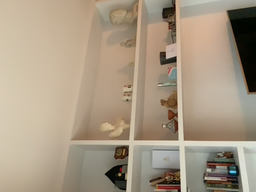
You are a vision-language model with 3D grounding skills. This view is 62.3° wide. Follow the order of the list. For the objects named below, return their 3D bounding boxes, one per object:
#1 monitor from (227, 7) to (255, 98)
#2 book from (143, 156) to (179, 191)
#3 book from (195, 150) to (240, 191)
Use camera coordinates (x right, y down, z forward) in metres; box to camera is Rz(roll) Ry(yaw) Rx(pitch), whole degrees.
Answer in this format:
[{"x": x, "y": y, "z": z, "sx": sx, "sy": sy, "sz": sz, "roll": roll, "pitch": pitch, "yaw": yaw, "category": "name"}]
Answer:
[{"x": 1.260, "y": -0.440, "z": 1.750, "sx": 0.060, "sy": 0.660, "sz": 1.060, "roll": 67, "pitch": -154, "yaw": -48, "category": "monitor"}, {"x": 0.260, "y": 0.780, "z": 1.650, "sx": 0.190, "sy": 0.250, "sz": 0.570, "roll": 55, "pitch": -145, "yaw": -60, "category": "book"}, {"x": 0.640, "y": 0.740, "z": 1.520, "sx": 0.240, "sy": 0.270, "sz": 0.640, "roll": 56, "pitch": -145, "yaw": -60, "category": "book"}]
